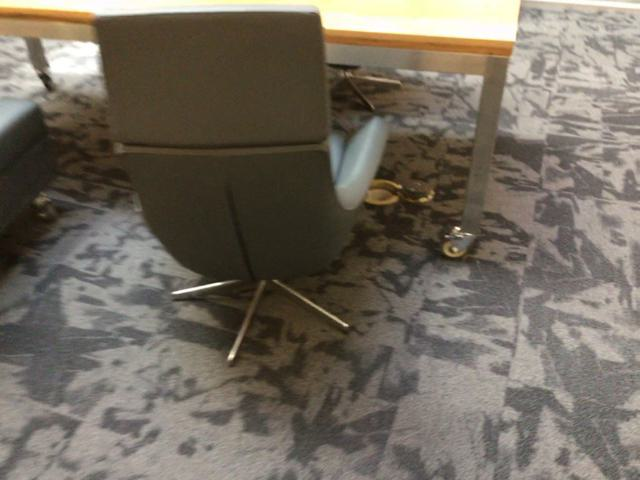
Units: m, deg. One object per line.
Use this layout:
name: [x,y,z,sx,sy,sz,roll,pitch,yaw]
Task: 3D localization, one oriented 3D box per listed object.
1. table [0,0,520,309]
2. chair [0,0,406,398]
table: [-0.510,-0.680,2.320,2.360,0.860,1.090,13,39,15]
chair: [-0.190,-0.220,1.530,0.710,0.950,0.750,4,37,4]
